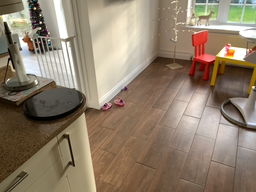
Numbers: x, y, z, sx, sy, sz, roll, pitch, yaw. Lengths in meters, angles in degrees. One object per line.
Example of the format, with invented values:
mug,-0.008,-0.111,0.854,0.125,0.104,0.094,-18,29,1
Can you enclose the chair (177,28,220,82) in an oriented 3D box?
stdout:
chair,1.110,-0.660,3.380,0.430,0.700,0.380,-23,37,-33
